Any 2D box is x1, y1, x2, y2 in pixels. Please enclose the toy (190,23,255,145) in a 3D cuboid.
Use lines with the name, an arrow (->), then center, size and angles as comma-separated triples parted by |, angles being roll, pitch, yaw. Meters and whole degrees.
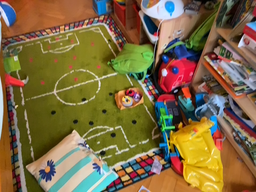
toy -> 0.700, -0.030, 1.200 | 0.190, 0.320, 0.800 | -19, 56, -16
